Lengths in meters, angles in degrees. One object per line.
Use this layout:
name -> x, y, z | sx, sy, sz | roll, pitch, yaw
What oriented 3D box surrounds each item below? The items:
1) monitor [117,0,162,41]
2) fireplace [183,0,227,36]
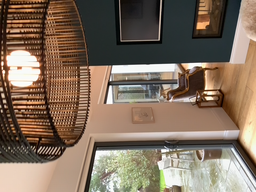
monitor -> 0.150, -1.210, 2.770 | 0.050, 0.590, 0.940 | -93, 1, -62
fireplace -> 1.060, -1.350, 2.900 | 0.400, 0.430, 0.940 | -93, 1, -62
